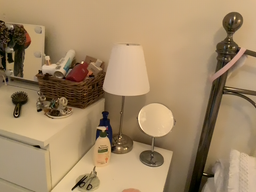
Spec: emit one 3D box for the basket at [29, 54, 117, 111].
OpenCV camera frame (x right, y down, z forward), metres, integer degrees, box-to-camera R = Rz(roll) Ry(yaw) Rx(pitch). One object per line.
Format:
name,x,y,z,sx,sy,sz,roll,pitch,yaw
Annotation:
basket,-0.270,-0.090,1.100,0.330,0.180,0.280,11,22,17
